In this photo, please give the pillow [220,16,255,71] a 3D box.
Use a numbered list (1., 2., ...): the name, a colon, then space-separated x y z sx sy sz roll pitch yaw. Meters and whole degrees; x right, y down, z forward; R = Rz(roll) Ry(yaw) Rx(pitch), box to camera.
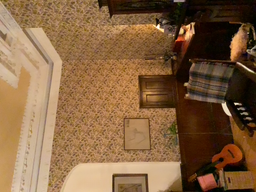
1. pillow: 1.390 -0.650 2.680 0.420 0.200 0.530 86 -177 -68
